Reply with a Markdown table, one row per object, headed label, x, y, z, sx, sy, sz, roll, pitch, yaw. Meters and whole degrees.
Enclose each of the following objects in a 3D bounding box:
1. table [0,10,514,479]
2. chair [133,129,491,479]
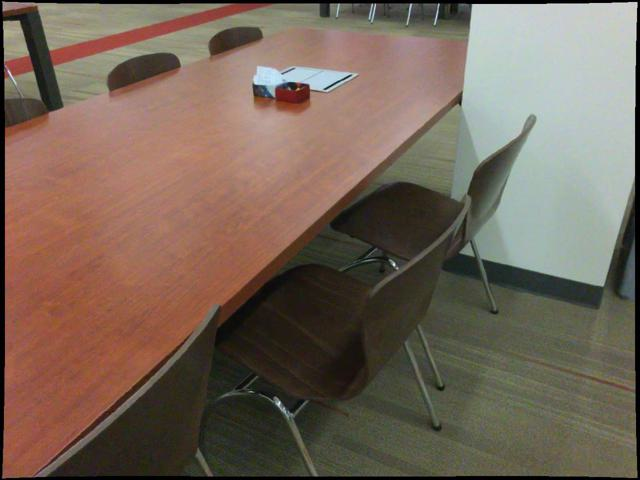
| label | x | y | z | sx | sy | sz | roll | pitch | yaw |
| --- | --- | --- | --- | --- | --- | --- | --- | --- | --- |
| table | -0.389 | -0.060 | 2.040 | 1.377 | 0.801 | 3.070 | 14 | 35 | 24 |
| chair | 0.010 | 0.241 | 1.490 | 0.609 | 0.822 | 0.520 | 17 | 37 | 27 |
